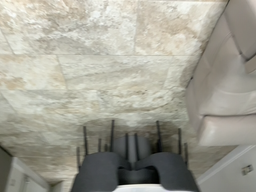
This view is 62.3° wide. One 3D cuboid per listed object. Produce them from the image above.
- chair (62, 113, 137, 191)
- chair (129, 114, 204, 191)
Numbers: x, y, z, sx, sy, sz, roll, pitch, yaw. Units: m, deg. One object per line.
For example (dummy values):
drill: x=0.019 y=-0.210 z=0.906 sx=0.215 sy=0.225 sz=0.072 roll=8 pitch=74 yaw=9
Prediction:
chair: x=-0.320 y=0.760 z=2.550 sx=0.550 sy=0.810 sz=0.610 roll=-27 pitch=139 yaw=32
chair: x=0.430 y=0.780 z=2.620 sx=0.530 sy=0.810 sz=0.630 roll=26 pitch=137 yaw=-35
